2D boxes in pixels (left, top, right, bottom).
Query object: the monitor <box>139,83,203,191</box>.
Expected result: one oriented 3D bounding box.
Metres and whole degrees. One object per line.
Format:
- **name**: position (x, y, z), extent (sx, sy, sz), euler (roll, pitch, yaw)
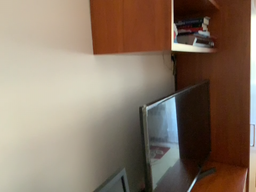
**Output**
- **monitor**: position (0.310, 0.270, 1.200), extent (0.030, 0.580, 0.940), euler (2, 11, 31)
